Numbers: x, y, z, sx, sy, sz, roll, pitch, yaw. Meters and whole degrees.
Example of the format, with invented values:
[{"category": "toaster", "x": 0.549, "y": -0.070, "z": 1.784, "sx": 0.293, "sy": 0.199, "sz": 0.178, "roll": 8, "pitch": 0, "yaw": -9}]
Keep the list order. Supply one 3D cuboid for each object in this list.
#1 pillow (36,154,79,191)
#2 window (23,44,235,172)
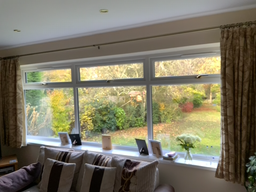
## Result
[{"category": "pillow", "x": -0.850, "y": 0.940, "z": 2.570, "sx": 0.390, "sy": 0.380, "sz": 0.170, "roll": 1, "pitch": 26, "yaw": 27}, {"category": "window", "x": -0.380, "y": 0.130, "z": 3.170, "sx": 3.520, "sy": 1.400, "sz": 0.040, "roll": 1, "pitch": 4, "yaw": 29}]
